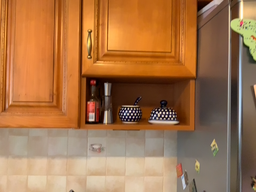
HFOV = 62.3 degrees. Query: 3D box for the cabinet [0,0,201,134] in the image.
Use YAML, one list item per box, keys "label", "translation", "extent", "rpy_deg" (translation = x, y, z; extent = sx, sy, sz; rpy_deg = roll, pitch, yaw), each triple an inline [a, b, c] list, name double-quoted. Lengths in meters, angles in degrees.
- label: "cabinet"
  translation: [-0.310, -0.340, 0.950]
  extent: [1.170, 0.940, 0.320]
  rpy_deg: [2, 0, -3]
